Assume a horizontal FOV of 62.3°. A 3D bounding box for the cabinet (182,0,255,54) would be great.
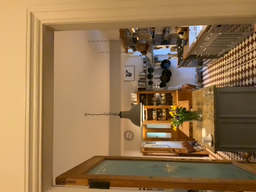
[{"bbox_3d":[1.630,-1.290,4.050,1.520,0.900,0.600,18,-108,-85],"label":"cabinet"}]
